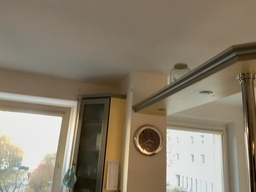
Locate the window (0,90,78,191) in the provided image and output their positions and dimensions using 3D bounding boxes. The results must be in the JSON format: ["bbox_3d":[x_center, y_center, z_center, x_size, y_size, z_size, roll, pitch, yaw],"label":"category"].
[{"bbox_3d":[-1.450,0.720,2.270,1.600,1.570,0.130,8,-15,-17],"label":"window"}]
